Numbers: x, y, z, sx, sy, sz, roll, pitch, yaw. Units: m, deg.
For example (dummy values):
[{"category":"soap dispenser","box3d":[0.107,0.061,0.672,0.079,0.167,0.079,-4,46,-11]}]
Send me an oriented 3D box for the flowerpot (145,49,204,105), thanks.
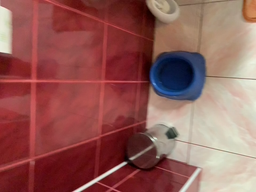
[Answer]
[{"category":"flowerpot","box3d":[0.230,-0.100,1.080,0.260,0.080,0.260,7,96,31]}]
